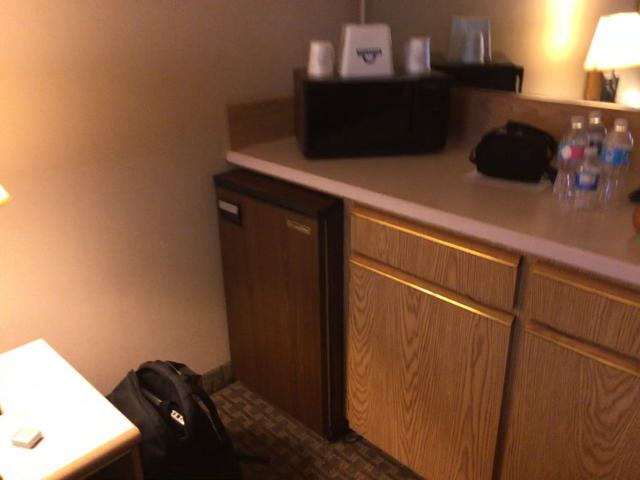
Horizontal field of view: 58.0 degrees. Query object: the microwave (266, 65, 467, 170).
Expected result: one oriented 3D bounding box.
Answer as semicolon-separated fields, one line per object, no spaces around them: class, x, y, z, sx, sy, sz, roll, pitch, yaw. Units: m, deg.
microwave;0.140;-0.400;1.780;0.410;0.250;0.440;-18;24;-41
